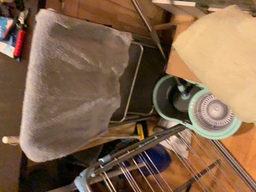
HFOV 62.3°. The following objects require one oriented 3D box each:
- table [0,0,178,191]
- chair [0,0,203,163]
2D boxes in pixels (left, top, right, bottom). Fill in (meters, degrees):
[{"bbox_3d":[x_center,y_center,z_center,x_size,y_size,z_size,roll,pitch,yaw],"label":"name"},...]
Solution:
[{"bbox_3d":[-0.360,0.210,1.280,0.540,0.890,1.770,22,107,35],"label":"table"},{"bbox_3d":[-0.100,-0.130,1.040,0.490,0.910,0.440,27,110,34],"label":"chair"}]
